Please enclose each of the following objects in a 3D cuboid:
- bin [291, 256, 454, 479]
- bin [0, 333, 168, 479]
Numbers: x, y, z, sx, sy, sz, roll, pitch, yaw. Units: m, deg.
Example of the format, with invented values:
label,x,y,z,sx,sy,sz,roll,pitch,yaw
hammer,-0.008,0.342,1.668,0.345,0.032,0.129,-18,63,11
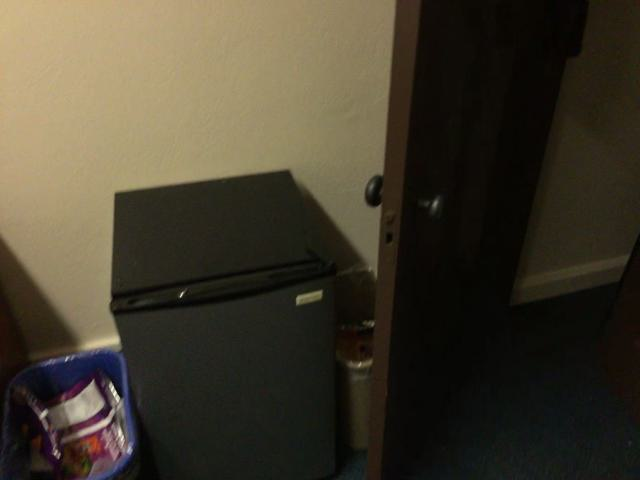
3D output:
label,x,y,z,sx,sy,sz,roll,pitch,yaw
bin,0.120,0.340,1.600,0.290,0.390,0.400,-11,35,-15
bin,-0.520,0.530,1.310,0.300,0.420,0.400,-11,35,-15
